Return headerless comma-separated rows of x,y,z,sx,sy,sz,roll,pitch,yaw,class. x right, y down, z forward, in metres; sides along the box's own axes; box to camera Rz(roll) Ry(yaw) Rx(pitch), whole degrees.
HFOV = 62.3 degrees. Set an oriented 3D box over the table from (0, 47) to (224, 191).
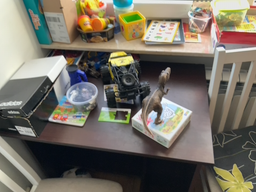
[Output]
-0.040,0.230,1.230,0.860,0.740,0.620,6,45,9,table
